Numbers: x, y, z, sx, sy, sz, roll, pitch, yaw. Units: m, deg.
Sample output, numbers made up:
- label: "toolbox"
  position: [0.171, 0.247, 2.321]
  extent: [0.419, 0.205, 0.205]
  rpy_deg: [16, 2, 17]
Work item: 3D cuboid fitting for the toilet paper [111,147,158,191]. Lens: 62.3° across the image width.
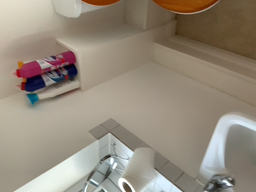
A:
- label: "toilet paper"
  position: [0.020, 0.290, 0.750]
  extent: [0.110, 0.110, 0.150]
  rpy_deg: [30, 133, 36]
